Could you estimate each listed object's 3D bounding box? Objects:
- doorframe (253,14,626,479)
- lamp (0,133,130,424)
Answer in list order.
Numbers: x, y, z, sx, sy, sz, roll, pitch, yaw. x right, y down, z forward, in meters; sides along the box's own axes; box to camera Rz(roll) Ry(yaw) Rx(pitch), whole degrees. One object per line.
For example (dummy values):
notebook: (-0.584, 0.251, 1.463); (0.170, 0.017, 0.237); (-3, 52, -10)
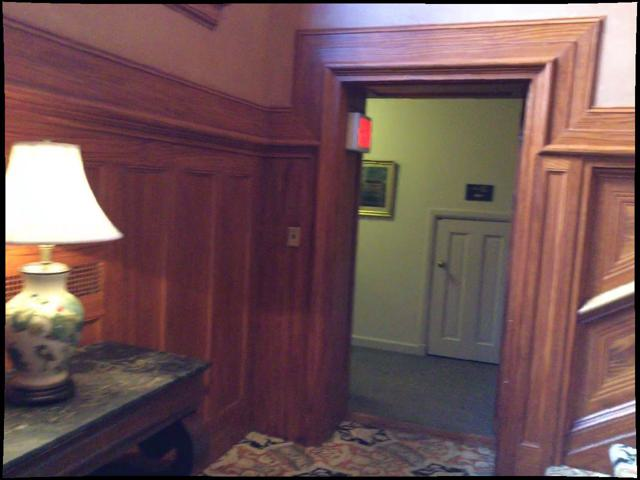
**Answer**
doorframe: (0.539, 0.020, 3.060); (1.589, 2.252, 0.410); (8, 7, 18)
lamp: (-0.759, 0.080, 1.540); (0.360, 0.691, 0.280); (2, 6, 19)
